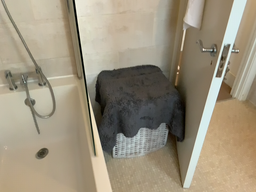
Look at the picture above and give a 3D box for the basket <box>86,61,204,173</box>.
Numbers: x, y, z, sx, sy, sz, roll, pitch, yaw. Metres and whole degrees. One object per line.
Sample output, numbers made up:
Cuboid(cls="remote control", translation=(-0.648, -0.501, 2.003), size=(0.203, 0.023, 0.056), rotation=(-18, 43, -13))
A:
Cuboid(cls="basket", translation=(0.090, 0.140, 1.600), size=(0.690, 0.590, 0.420), rotation=(-10, 38, -14))
